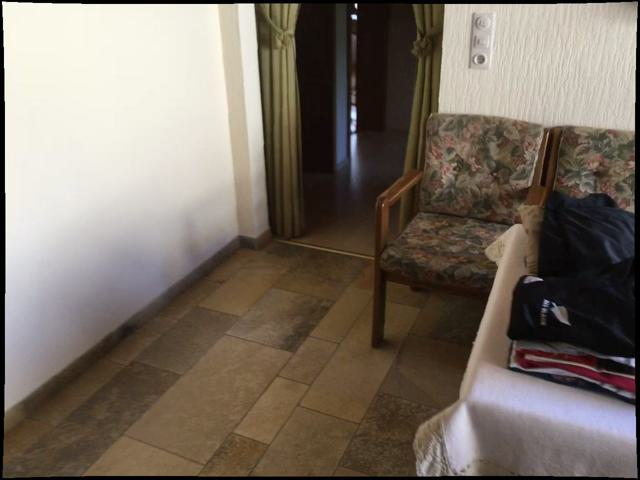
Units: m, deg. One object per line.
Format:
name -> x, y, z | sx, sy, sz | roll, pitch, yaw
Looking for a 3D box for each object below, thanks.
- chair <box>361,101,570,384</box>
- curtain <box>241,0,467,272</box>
chair -> 0.589, -0.040, 2.370 | 0.629, 0.851, 0.700 | 10, 29, 22
curtain -> 0.150, -0.891, 2.750 | 0.989, 2.022, 0.310 | 11, 29, 22
